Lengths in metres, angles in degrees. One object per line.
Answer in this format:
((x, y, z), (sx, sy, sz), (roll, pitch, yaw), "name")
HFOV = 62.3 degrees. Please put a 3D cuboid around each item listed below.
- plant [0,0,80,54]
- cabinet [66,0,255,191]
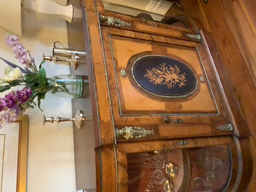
((-0.640, -0.580, 1.390), (0.430, 0.530, 0.370), (135, 130, -55), "plant")
((0.170, -0.030, 1.490), (0.480, 1.020, 1.510), (135, 131, -55), "cabinet")
